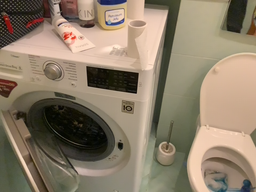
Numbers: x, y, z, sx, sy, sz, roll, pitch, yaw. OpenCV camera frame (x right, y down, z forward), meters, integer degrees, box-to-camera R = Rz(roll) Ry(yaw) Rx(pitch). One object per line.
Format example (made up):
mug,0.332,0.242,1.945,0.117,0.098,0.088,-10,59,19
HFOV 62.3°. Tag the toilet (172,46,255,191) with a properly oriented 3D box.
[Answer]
toilet,0.450,0.290,1.000,0.340,0.820,0.560,10,42,8
